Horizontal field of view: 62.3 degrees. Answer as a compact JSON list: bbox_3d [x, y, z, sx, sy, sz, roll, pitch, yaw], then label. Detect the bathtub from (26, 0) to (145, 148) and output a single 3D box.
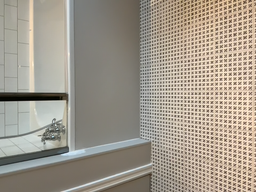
[{"bbox_3d":[-0.370,-0.680,1.690,0.800,0.620,1.920,3,93,49],"label":"bathtub"}]
